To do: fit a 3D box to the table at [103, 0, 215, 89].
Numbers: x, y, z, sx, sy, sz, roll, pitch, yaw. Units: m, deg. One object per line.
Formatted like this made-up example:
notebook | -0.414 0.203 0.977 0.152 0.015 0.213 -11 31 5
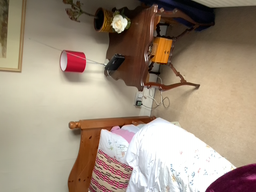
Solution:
table | 0.250 -0.450 1.890 0.570 0.680 0.630 27 111 52
